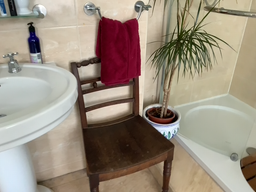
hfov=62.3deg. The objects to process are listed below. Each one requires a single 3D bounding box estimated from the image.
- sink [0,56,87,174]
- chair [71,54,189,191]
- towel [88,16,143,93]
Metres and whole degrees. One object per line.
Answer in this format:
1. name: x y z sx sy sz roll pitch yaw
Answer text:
1. sink: -0.540 0.050 0.840 0.620 0.190 0.540 -11 31 -21
2. chair: -0.030 0.240 1.230 0.430 0.810 0.470 -10 31 -19
3. towel: -0.070 -0.230 1.170 0.240 0.360 0.170 -10 31 -17
